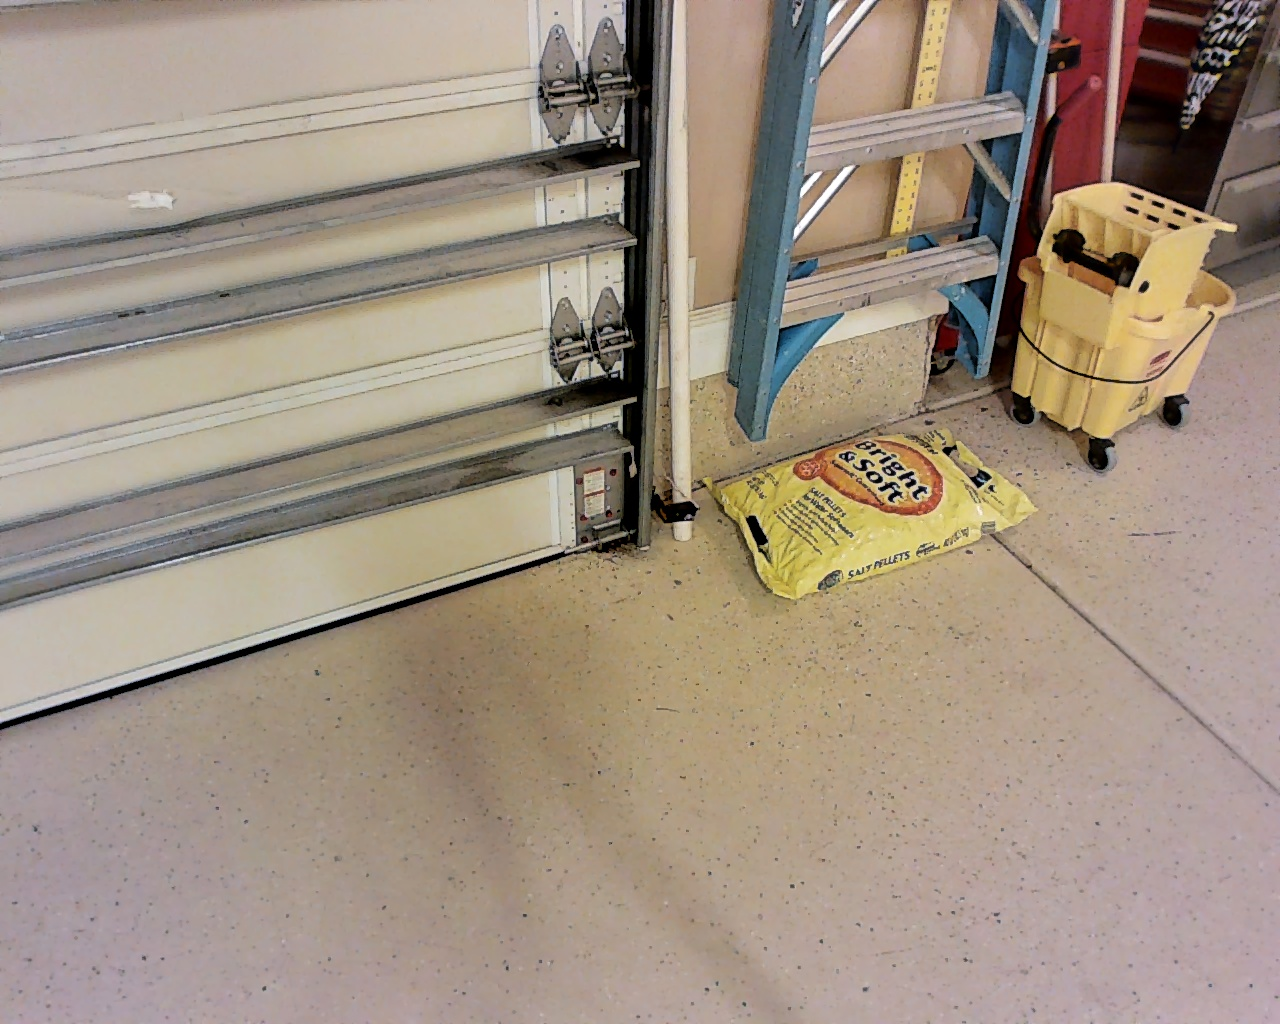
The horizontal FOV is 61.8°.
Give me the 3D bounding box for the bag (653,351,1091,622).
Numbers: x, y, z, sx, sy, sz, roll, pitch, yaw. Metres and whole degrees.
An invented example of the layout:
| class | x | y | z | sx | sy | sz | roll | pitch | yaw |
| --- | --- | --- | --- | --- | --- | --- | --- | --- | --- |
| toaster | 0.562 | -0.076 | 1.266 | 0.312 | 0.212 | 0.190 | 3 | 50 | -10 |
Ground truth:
| class | x | y | z | sx | sy | sz | roll | pitch | yaw |
| --- | --- | --- | --- | --- | --- | --- | --- | --- | --- |
| bag | 0.500 | -0.090 | 2.360 | 0.810 | 0.130 | 0.480 | -18 | 44 | -21 |
